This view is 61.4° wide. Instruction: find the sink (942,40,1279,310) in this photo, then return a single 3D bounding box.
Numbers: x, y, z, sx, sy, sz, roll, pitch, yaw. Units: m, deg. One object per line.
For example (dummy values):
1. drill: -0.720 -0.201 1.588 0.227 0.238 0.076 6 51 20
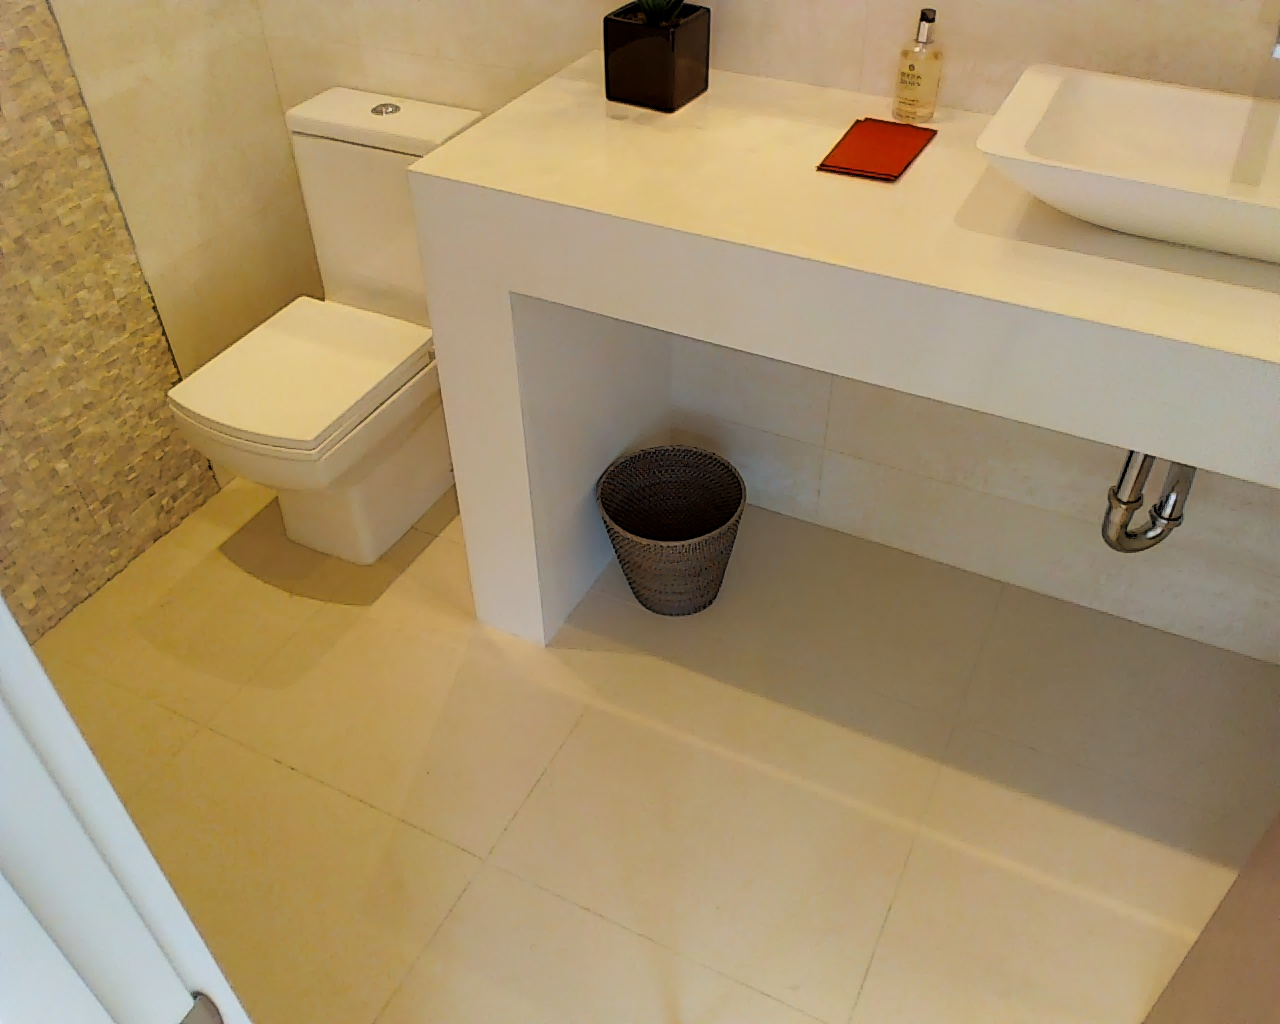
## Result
1. sink: 0.780 -0.410 1.330 0.690 0.130 0.410 18 44 21
